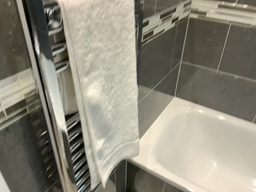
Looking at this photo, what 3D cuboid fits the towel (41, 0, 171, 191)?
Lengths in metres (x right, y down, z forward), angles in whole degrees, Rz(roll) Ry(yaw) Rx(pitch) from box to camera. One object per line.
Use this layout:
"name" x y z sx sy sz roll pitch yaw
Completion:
"towel" -0.030 0.030 0.670 0.120 0.760 0.340 21 38 26
